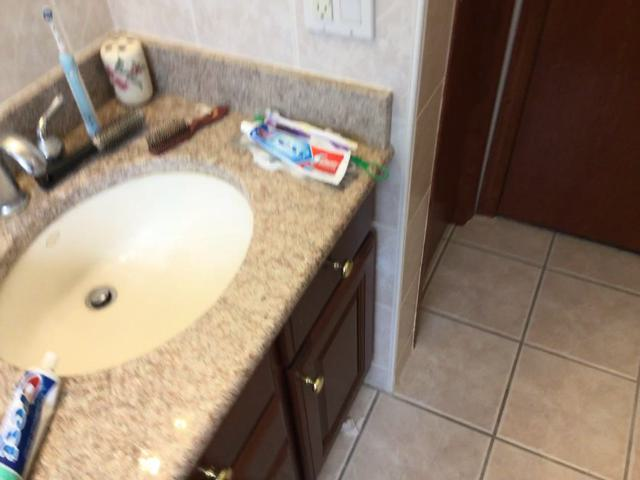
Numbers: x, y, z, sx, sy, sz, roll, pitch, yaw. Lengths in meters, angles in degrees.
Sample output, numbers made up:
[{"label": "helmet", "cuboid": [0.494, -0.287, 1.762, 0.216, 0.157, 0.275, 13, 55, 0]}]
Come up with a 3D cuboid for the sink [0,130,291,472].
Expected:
[{"label": "sink", "cuboid": [-0.300, 0.060, 0.900, 0.330, 0.190, 0.430, 17, 50, 20]}]

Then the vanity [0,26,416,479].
[{"label": "vanity", "cuboid": [-0.270, 0.260, 1.060, 0.590, 0.890, 0.830, 17, 50, 20]}]

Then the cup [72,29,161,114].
[{"label": "cup", "cuboid": [-0.370, -0.310, 1.060, 0.100, 0.110, 0.080, 17, 50, 20]}]
